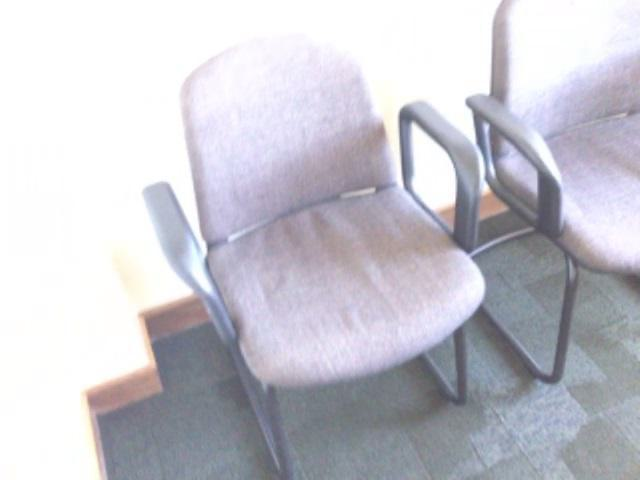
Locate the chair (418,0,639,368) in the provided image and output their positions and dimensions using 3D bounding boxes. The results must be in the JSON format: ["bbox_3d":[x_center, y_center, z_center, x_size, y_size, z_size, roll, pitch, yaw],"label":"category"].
[{"bbox_3d":[0.650,-0.240,1.300,0.590,0.600,0.640,-21,42,-9],"label":"chair"}]

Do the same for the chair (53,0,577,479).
[{"bbox_3d":[-0.040,-0.040,1.160,0.720,0.570,0.630,-21,42,-9],"label":"chair"}]
